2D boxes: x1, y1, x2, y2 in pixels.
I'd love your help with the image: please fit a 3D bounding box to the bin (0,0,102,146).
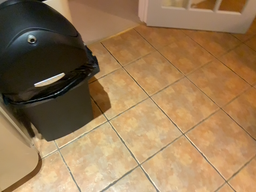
[{"bbox_3d":[-0.390,-0.110,1.020,0.380,0.690,0.300,-28,61,-20],"label":"bin"}]
